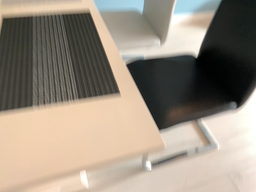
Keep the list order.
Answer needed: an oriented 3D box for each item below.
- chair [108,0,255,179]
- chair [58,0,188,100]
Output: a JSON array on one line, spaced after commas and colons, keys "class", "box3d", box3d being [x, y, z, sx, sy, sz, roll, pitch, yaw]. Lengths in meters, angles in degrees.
[{"class": "chair", "box3d": [0.270, -0.090, 0.970, 0.640, 0.960, 0.420, -9, 49, -14]}, {"class": "chair", "box3d": [-0.060, -0.490, 1.300, 0.670, 0.970, 0.370, -10, 49, -15]}]
